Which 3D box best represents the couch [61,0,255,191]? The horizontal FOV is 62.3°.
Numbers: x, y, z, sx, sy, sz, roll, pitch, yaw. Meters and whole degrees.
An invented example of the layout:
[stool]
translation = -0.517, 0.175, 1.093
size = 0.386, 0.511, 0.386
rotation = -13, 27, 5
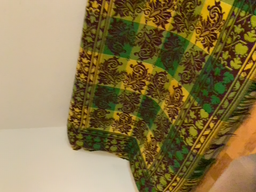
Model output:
[couch]
translation = 0.220, -0.210, 1.410
size = 1.050, 0.900, 1.960
rotation = 56, 136, 46
